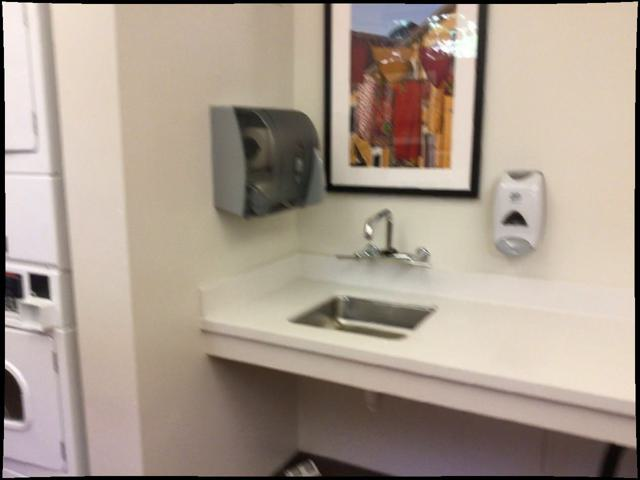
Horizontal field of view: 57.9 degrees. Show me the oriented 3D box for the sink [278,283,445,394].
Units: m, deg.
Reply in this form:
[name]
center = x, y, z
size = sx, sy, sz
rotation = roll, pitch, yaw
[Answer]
[sink]
center = 0.150, 0.300, 1.910
size = 0.400, 0.170, 0.430
rotation = 5, 13, 29
